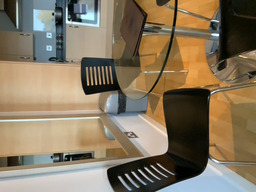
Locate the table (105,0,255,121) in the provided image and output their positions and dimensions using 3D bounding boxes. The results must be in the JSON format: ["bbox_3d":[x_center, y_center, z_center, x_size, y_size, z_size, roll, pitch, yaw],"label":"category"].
[{"bbox_3d":[0.330,-0.280,1.270,0.730,0.750,0.790,168,100,-69],"label":"table"}]

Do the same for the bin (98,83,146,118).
[{"bbox_3d":[-0.090,0.040,2.710,0.370,0.500,0.360,-152,63,-67],"label":"bin"}]
